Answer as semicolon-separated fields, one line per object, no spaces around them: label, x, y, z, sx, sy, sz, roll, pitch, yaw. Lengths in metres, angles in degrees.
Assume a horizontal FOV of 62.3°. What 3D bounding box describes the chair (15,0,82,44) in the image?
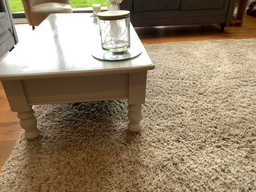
chair;-1.080;-1.240;2.780;0.590;0.830;0.750;-20;37;-30
